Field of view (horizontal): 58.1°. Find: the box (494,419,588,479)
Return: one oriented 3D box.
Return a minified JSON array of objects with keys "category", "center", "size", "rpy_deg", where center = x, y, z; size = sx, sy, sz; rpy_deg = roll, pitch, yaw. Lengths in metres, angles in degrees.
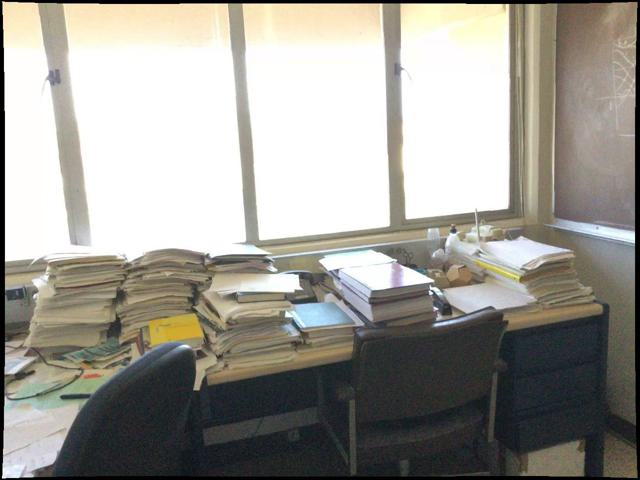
[{"category":"box","center":[0.858,0.862,2.240],"size":[0.319,0.221,0.140],"rpy_deg":[-7,12,-16]}]

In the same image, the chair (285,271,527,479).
[{"category":"chair","center":[0.289,0.642,2.150],"size":[0.658,0.842,0.640],"rpy_deg":[-7,12,-14]}]
